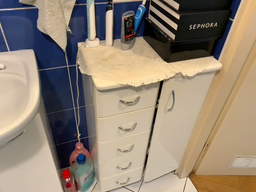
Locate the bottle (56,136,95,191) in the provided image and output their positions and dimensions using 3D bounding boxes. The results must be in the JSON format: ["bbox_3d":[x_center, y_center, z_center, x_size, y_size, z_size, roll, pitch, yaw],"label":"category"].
[{"bbox_3d":[-0.300,0.420,1.220,0.160,0.260,0.230,-11,44,-18],"label":"bottle"}]
